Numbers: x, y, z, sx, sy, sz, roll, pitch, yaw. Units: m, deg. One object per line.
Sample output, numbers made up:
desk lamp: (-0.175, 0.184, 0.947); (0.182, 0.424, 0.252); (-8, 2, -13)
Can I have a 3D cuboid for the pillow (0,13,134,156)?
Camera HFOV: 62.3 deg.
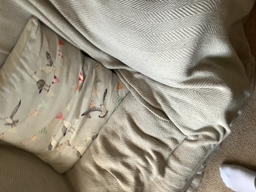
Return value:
pillow: (-0.240, -0.010, 0.740); (0.180, 0.430, 0.350); (44, 55, -8)
